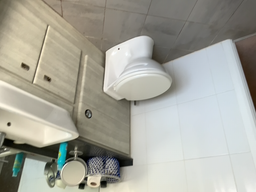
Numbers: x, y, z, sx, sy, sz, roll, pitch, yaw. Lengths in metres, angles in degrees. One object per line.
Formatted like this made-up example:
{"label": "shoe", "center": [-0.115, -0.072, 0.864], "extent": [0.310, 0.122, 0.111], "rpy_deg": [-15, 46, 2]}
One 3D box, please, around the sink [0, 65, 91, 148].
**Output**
{"label": "sink", "center": [-0.580, 0.110, 1.150], "extent": [0.470, 0.160, 0.590], "rpy_deg": [-17, 148, 28]}
